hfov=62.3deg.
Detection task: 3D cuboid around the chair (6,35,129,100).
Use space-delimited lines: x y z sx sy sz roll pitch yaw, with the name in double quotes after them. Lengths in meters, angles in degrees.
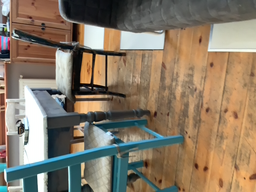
-0.490 -0.220 1.780 0.370 0.910 0.420 17 105 57 "chair"
